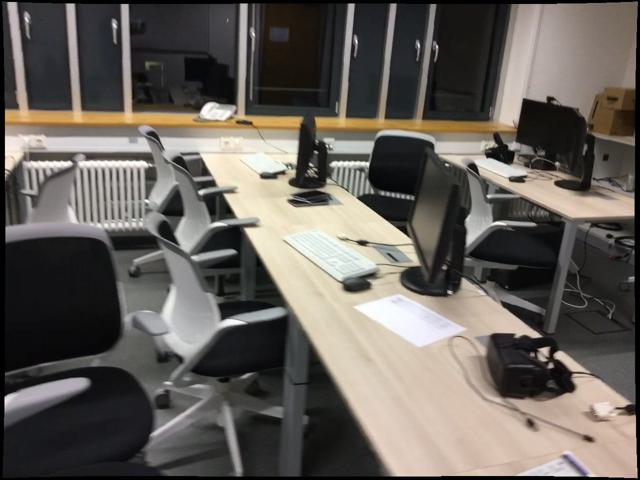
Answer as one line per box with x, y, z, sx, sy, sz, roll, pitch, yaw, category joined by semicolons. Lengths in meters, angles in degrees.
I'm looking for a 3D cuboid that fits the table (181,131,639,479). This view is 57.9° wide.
0.070;0.340;2.390;0.949;0.841;4.040;-5;21;-15;table

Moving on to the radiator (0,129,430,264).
-1.109;-0.330;4.050;3.846;0.661;0.460;-5;21;-15;radiator

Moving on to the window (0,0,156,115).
-1.948;-1.371;3.780;1.599;1.031;0.400;-5;21;-15;window
